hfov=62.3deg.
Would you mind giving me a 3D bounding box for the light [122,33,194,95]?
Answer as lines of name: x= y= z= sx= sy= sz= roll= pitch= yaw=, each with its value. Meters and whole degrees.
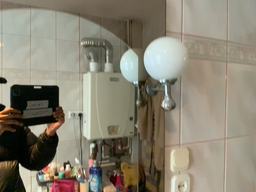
light: x=0.080 y=-0.080 z=0.620 sx=0.140 sy=0.150 sz=0.160 roll=0 pitch=2 yaw=-27
